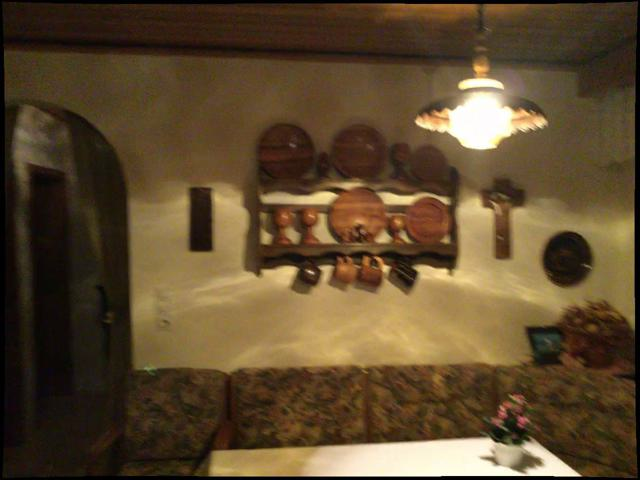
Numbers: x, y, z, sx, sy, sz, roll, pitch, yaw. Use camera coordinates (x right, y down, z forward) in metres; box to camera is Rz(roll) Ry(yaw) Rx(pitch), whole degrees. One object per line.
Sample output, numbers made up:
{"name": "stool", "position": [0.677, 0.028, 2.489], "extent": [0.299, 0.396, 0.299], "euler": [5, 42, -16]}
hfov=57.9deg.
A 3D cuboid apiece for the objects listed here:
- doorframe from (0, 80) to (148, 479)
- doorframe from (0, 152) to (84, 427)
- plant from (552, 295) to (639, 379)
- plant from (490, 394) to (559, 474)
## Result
{"name": "doorframe", "position": [-1.449, 0.350, 2.930], "extent": [1.049, 2.212, 0.350], "euler": [0, 3, -5]}
{"name": "doorframe", "position": [-2.258, 0.350, 4.750], "extent": [0.270, 2.022, 1.030], "euler": [0, 3, -5]}
{"name": "plant", "position": [1.469, 0.480, 2.940], "extent": [0.430, 0.360, 0.320], "euler": [0, 3, -5]}
{"name": "plant", "position": [0.719, 0.681, 2.050], "extent": [0.160, 0.210, 0.190], "euler": [0, 3, -5]}
